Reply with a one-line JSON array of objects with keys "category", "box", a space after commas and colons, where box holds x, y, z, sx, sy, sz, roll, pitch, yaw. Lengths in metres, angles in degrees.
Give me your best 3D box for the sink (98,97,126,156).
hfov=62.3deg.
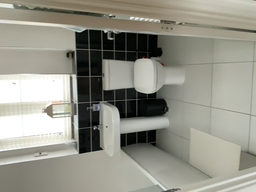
[{"category": "sink", "box": [-0.190, 0.320, 2.400, 0.420, 0.180, 0.550, -163, 72, -65]}]
